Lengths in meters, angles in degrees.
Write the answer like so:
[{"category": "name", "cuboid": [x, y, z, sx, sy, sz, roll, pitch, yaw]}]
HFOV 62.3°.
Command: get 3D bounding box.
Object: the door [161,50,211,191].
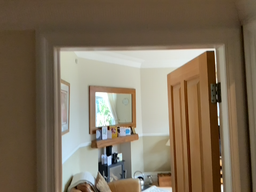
[{"category": "door", "cuboid": [0.380, 0.810, 1.510, 0.100, 2.080, 0.830, -1, -2, -1]}]
